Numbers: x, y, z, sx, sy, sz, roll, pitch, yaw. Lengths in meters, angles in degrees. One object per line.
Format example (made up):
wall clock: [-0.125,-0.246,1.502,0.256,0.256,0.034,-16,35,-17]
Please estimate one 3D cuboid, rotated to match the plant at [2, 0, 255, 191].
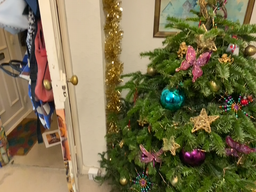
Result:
plant: [0.420,0.080,1.350,1.320,1.890,1.360,4,27,6]
